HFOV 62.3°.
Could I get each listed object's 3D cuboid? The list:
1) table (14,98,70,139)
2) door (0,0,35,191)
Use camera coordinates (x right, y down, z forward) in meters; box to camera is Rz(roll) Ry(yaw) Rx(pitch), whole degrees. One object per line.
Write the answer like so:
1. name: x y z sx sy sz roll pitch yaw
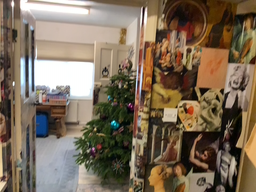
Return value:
1. table: -1.820 0.470 4.610 0.990 0.710 0.710 2 9 -9
2. door: -0.810 0.300 1.650 0.040 2.020 0.920 1 9 -16
